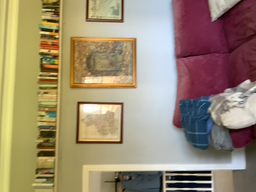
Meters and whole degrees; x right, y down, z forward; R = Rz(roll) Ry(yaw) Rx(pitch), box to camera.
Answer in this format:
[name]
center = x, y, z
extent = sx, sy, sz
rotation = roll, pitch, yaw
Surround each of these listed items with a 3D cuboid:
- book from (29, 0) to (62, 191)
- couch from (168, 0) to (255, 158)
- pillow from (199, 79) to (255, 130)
[book]
center = -0.930, -0.150, 2.430
extent = 0.160, 0.280, 3.940
rotation = 119, 150, -87
[couch]
center = 0.940, -0.470, 1.990
extent = 1.120, 0.870, 1.800
rotation = 119, 150, -87
[pillow]
center = 0.840, 0.070, 1.750
extent = 0.500, 0.330, 0.360
rotation = 120, 150, -87
